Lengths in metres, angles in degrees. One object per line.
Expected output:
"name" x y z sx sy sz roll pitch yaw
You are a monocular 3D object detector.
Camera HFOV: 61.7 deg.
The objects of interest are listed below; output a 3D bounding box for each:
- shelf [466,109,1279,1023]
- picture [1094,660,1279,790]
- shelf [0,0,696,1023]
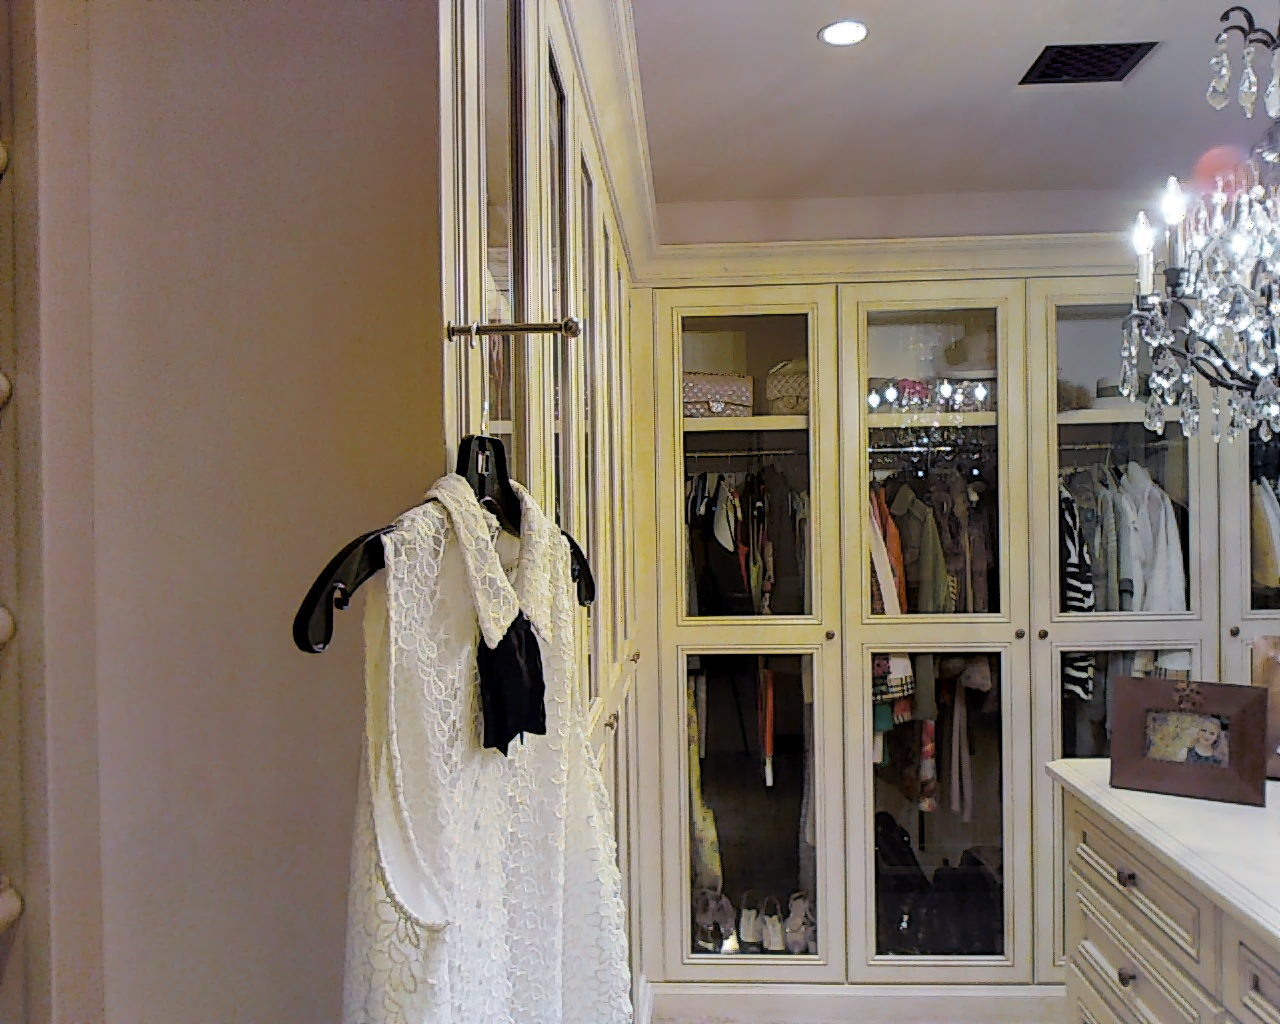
"shelf" 1.190 0.190 3.540 3.370 2.700 0.780 -1 0 4
"picture" 1.000 0.390 1.950 0.280 0.210 0.080 -10 0 33
"shelf" -0.300 0.230 2.080 0.740 2.700 2.850 -1 0 4
